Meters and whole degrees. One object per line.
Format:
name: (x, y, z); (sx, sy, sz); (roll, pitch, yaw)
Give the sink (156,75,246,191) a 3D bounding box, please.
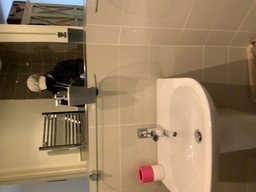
sink: (0.280, 0.190, 0.950); (0.450, 0.150, 0.560); (-162, 70, -75)
